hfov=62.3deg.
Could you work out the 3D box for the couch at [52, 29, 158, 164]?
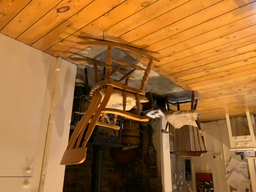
[{"bbox_3d":[-0.230,0.080,2.070,0.800,1.080,0.640,8,160,-19],"label":"couch"}]
